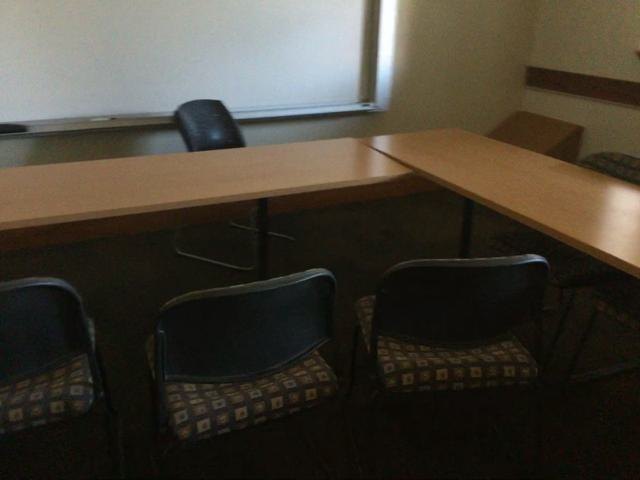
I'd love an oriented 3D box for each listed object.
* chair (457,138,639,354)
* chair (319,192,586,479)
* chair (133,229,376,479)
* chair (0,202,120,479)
[{"bbox_3d":[0.940,-0.020,2.200,0.510,0.630,0.530,-6,23,-26],"label":"chair"},{"bbox_3d":[0.310,0.270,1.680,0.510,0.680,0.540,1,21,-9],"label":"chair"},{"bbox_3d":[-0.170,0.310,1.430,0.500,0.580,0.250,-6,23,-26],"label":"chair"},{"bbox_3d":[-0.830,0.320,1.480,0.510,0.690,0.480,-6,23,-26],"label":"chair"}]
